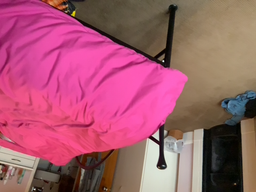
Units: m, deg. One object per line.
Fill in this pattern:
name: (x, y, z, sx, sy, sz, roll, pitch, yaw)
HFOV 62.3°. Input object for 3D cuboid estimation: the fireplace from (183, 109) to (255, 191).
fireplace: (1.010, 0.800, 2.220, 0.250, 1.130, 0.910, 22, 153, -25)
